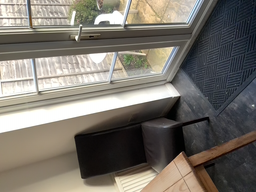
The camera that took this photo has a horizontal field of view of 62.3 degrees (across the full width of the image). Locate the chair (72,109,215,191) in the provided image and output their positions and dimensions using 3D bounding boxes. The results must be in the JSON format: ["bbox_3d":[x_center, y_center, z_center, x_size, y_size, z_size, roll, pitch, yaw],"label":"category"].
[{"bbox_3d":[0.130,0.490,2.000,0.710,1.080,0.470,5,104,63],"label":"chair"}]

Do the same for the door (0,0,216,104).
[{"bbox_3d":[-0.270,-0.410,1.520,0.030,2.060,1.080,61,148,33],"label":"door"}]
